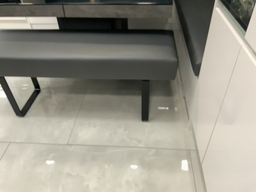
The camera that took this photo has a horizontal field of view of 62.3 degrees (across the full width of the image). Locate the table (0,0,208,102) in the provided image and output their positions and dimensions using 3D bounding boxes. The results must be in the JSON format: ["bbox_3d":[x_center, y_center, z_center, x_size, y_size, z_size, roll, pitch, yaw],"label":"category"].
[{"bbox_3d":[-0.210,-0.720,2.100,1.510,0.720,1.450,2,41,5],"label":"table"}]
